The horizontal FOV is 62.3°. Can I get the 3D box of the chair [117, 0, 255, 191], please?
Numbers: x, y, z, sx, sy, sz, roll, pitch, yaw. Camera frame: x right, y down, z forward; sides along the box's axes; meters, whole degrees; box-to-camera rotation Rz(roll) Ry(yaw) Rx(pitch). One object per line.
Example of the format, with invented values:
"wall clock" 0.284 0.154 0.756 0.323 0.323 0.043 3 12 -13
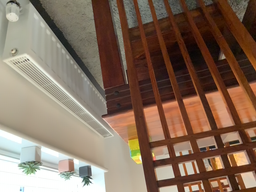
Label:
"chair" 0.280 -0.030 1.090 0.430 1.160 0.460 -14 153 8
